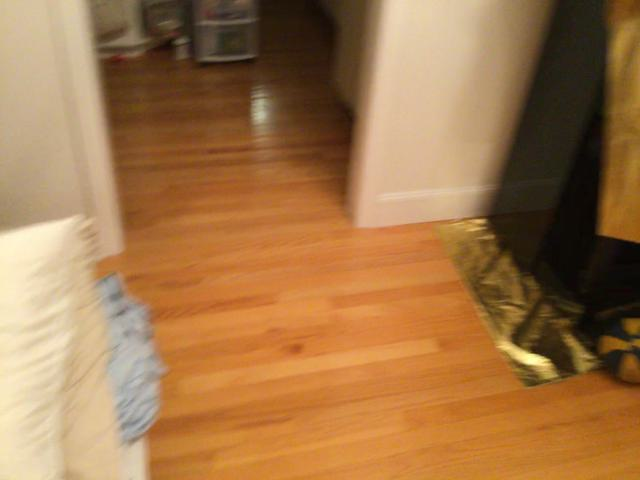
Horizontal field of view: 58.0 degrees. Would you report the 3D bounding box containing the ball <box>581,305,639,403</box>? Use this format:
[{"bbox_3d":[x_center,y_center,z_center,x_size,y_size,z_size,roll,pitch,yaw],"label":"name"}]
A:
[{"bbox_3d":[0.860,0.300,1.560,0.180,0.170,0.170,-8,39,-12],"label":"ball"}]
